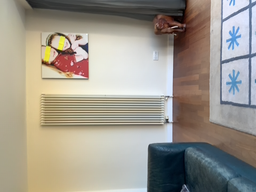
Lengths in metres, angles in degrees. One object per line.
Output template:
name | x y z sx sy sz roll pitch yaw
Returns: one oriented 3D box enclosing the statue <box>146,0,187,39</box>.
statue | 0.570 -1.210 3.280 0.330 0.460 0.570 101 167 -54
